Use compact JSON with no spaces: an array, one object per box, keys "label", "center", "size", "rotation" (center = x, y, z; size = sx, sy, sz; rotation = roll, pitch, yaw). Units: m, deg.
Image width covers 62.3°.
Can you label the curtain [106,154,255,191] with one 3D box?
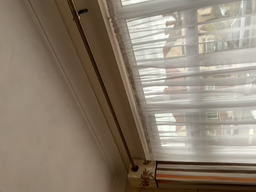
[{"label":"curtain","center":[0.750,0.630,1.700],"size":[0.230,1.870,0.200],"rotation":[-71,-28,-54]}]
